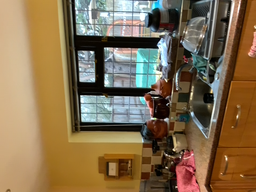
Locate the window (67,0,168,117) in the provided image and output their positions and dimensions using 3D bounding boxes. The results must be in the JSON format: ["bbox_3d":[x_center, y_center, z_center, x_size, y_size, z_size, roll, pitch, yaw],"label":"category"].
[{"bbox_3d":[-0.110,-0.340,2.160,0.130,0.900,1.170,-97,8,-69],"label":"window"}]

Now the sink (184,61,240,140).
[{"bbox_3d":[0.650,0.010,1.740,0.510,0.170,0.490,-97,8,-69],"label":"sink"}]
